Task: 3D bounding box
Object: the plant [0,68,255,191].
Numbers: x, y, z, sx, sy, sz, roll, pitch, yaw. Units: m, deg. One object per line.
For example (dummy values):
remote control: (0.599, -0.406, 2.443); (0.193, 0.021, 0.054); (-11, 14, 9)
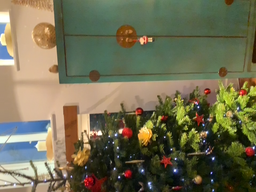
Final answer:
plant: (0.180, 0.620, 1.730); (1.200, 2.210, 1.620); (-138, 47, -75)
